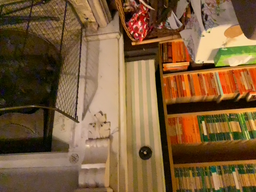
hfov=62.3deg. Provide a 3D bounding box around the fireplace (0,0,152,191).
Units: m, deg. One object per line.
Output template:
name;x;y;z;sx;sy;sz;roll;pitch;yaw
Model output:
fireplace;-0.850;0.030;1.340;1.880;1.300;0.910;-5;156;7
